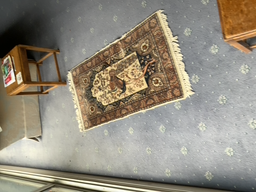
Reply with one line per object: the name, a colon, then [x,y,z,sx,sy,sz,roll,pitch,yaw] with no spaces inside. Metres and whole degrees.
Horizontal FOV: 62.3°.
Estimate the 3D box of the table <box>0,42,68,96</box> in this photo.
table: [-0.940,-0.250,2.120,0.380,0.460,0.380,-19,82,37]
